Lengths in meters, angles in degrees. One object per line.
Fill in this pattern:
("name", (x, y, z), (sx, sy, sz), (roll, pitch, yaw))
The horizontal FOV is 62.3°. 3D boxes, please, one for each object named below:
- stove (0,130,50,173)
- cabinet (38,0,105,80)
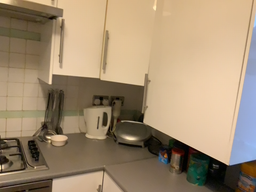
("stove", (-0.820, 0.310, 1.210), (0.610, 0.030, 0.540), (2, 9, -32))
("cabinet", (-0.380, -0.490, 1.390), (0.300, 0.710, 0.380), (2, 9, -32))
